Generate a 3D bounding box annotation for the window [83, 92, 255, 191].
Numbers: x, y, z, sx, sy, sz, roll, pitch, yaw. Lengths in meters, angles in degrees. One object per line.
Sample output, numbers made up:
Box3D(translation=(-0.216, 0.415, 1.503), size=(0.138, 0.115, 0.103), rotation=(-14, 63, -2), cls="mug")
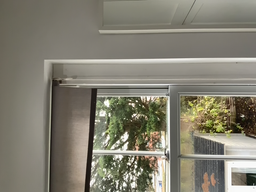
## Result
Box3D(translation=(0.360, 0.340, 1.290), size=(0.070, 1.260, 0.730), rotation=(50, -140, -85), cls="window")
